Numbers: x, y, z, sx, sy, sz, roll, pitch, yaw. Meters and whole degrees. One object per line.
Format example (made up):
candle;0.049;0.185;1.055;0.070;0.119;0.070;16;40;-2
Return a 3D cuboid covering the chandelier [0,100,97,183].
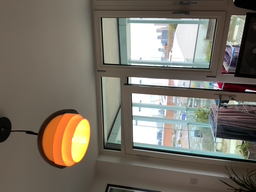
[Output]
chandelier;-0.460;0.210;1.180;0.360;0.450;0.340;4;-89;-80

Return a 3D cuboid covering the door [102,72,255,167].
door;0.960;0.380;3.000;0.110;2.590;1.400;-72;-17;-54
